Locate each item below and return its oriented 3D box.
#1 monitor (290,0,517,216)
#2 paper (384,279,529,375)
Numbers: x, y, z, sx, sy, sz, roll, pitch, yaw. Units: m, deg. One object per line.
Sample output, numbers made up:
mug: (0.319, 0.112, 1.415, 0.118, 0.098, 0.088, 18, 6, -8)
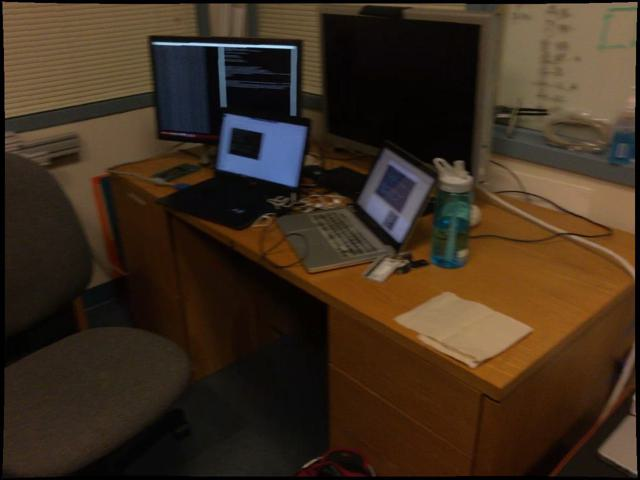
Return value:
monitor: (0.209, -0.451, 1.810, 0.140, 0.531, 0.749, -24, 35, -36)
paper: (0.279, 0.170, 1.190, 0.190, 0.030, 0.220, -24, 35, -36)
